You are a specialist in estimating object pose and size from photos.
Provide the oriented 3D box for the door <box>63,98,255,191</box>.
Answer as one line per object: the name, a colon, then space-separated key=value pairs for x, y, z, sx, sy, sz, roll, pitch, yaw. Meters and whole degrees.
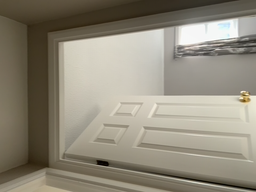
door: x=0.700 y=0.290 z=1.020 sx=0.750 sy=1.990 sz=0.120 roll=-58 pitch=-39 yaw=-48
